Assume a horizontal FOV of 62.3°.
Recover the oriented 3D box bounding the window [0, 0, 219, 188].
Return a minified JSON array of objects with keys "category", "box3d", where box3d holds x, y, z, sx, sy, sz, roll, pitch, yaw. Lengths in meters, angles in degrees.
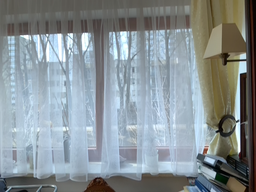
[{"category":"window","box3d":[-0.300,-0.040,1.660,1.780,1.350,0.150,-6,-2,4]}]
